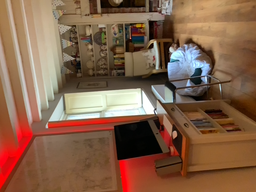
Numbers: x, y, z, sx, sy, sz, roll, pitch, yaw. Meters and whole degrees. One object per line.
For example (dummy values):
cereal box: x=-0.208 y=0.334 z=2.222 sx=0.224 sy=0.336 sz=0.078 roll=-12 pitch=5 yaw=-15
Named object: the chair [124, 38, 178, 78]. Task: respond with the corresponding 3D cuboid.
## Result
chair: x=0.450 y=-0.810 z=4.670 sx=0.880 sy=0.980 sz=0.540 roll=111 pitch=155 yaw=-75
